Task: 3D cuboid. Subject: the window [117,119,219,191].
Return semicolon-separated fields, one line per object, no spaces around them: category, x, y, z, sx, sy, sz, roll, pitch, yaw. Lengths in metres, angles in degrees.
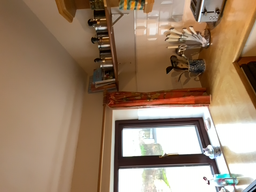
window;0.300;0.550;1.830;0.070;0.780;0.730;86;-178;-53
